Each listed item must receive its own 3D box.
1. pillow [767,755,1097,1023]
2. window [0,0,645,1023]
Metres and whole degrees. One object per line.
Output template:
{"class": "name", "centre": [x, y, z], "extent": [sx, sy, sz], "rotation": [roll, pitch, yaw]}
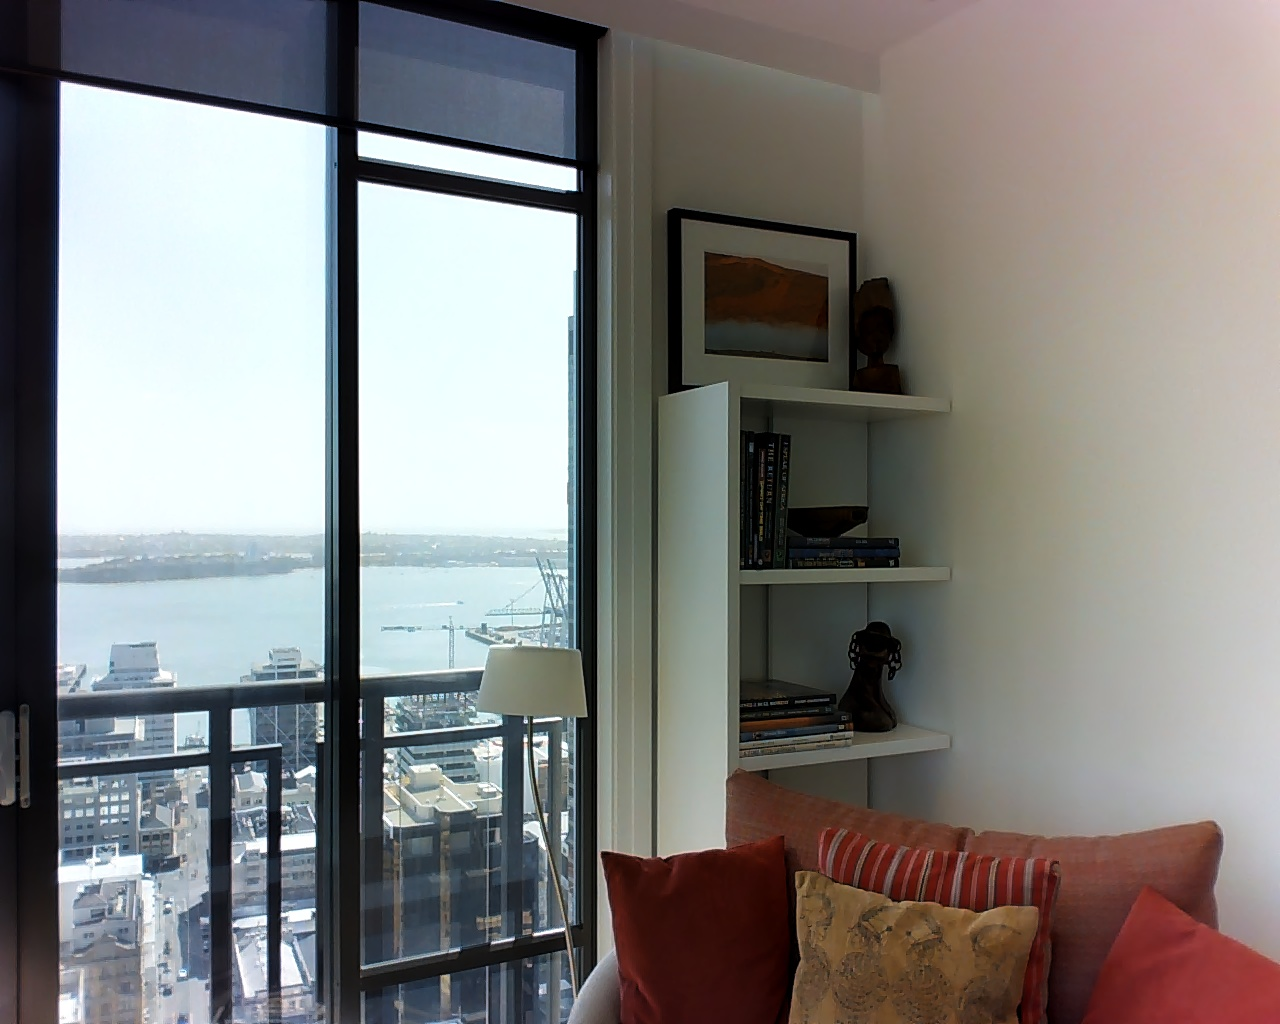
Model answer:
{"class": "pillow", "centre": [0.450, 0.700, 1.760], "extent": [0.220, 0.380, 0.440], "rotation": [-11, 25, -31]}
{"class": "window", "centre": [-1.100, 0.100, 2.030], "extent": [2.420, 2.511, 0.120], "rotation": [0, 1, -28]}
